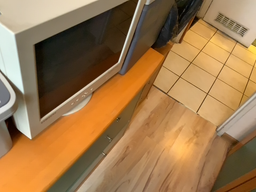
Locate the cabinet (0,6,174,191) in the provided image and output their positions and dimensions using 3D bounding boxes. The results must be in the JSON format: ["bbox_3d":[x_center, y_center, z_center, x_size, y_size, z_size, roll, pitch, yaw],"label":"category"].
[{"bbox_3d":[-0.380,0.210,0.970,0.490,0.730,1.150,35,50,11],"label":"cabinet"}]

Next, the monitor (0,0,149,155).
[{"bbox_3d":[-0.230,-0.180,0.590,0.360,0.400,0.420,35,50,11],"label":"monitor"}]
